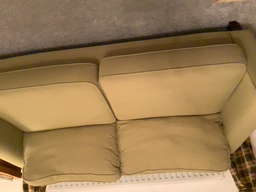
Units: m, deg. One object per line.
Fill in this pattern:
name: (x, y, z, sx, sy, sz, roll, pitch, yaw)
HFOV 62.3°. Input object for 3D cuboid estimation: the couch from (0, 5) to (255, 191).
couch: (-0.100, 0.160, 1.560, 1.730, 0.770, 1.050, -6, 149, 5)
